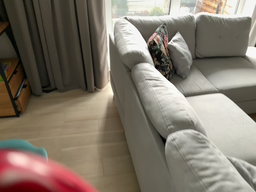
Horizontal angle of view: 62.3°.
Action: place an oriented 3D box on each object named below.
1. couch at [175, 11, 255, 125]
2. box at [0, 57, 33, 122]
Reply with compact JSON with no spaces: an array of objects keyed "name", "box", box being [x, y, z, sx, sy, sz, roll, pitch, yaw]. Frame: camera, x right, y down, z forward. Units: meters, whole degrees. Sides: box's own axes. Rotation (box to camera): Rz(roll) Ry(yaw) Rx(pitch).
[{"name":"couch","box":[1.220,-0.360,2.280,1.010,0.820,0.910,-6,36,-10]},{"name":"box","box":[-1.230,-0.070,2.110,0.340,0.470,0.460,-4,35,-8]}]
